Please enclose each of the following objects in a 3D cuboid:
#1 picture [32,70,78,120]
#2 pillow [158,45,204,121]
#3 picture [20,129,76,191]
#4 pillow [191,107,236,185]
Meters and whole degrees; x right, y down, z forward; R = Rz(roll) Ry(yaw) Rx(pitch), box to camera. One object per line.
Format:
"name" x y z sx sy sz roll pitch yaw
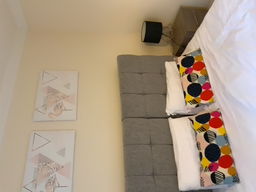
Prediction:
"picture" -0.740 -0.020 2.210 0.050 0.400 0.560 106 162 -60
"pillow" 0.520 -0.130 2.130 0.180 0.340 0.680 -34 48 45
"picture" -0.680 0.590 1.860 0.050 0.410 0.600 105 162 -59
"pillow" 0.660 0.390 1.660 0.130 0.260 0.540 -26 51 34
